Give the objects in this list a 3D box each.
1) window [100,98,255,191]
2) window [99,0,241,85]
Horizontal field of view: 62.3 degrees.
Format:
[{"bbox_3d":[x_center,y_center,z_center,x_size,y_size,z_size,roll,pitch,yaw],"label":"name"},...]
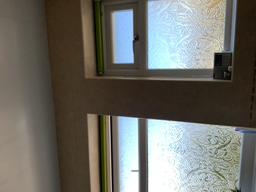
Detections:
[{"bbox_3d":[0.390,0.690,1.780,0.320,1.210,1.240,-24,-64,-68],"label":"window"},{"bbox_3d":[0.260,-0.470,1.550,0.150,0.960,0.720,-25,-63,-68],"label":"window"}]
